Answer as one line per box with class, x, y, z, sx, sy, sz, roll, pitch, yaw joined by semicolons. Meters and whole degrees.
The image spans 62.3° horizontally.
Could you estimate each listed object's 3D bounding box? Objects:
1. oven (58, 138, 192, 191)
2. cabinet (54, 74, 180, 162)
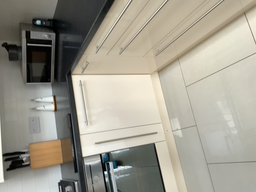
oven;-0.030;0.750;1.770;0.580;0.900;0.580;-33;65;57
cabinet;-0.130;0.190;1.910;0.580;0.880;0.590;-33;65;57
